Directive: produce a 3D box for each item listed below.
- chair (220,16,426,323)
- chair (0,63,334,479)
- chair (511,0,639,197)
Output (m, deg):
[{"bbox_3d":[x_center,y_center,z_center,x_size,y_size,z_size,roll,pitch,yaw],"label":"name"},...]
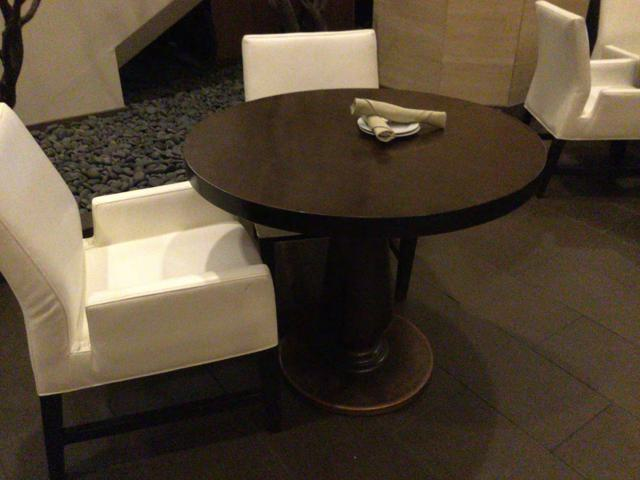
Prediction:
[{"bbox_3d":[-0.040,-0.300,2.140,0.560,0.870,0.760,-5,30,-8],"label":"chair"},{"bbox_3d":[-0.480,0.060,1.540,0.760,0.810,0.800,-12,32,-20],"label":"chair"},{"bbox_3d":[1.280,-0.660,2.610,0.560,0.790,0.510,0,30,0],"label":"chair"}]
